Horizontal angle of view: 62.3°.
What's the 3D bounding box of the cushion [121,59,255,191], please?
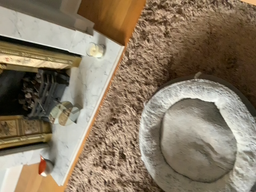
[{"bbox_3d":[0.320,0.200,1.130,0.680,0.120,0.710,13,97,34],"label":"cushion"}]
